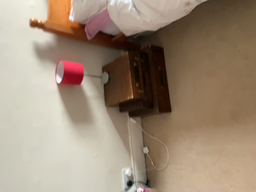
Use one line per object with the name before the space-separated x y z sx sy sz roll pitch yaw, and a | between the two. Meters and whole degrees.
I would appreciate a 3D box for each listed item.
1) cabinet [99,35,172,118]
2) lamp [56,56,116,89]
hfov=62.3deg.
cabinet | 0.050 -0.130 1.790 0.400 0.380 0.560 -19 74 49
lamp | -0.320 -0.170 1.640 0.170 0.410 0.170 -17 75 49
